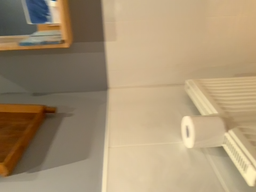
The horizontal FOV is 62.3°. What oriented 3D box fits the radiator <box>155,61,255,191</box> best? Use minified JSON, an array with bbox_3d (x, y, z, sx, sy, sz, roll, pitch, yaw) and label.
[{"bbox_3d":[0.510,0.050,0.800,0.760,0.680,0.120,-99,6,-63],"label":"radiator"}]
